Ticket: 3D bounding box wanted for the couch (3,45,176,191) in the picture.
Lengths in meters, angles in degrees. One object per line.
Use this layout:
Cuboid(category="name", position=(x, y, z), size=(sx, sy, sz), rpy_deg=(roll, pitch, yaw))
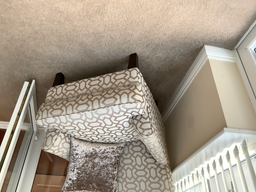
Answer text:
Cuboid(category="couch", position=(-0.140, 0.340, 1.580), size=(0.790, 0.890, 0.880), rpy_deg=(-11, 144, 16))
